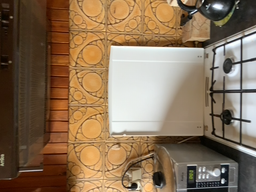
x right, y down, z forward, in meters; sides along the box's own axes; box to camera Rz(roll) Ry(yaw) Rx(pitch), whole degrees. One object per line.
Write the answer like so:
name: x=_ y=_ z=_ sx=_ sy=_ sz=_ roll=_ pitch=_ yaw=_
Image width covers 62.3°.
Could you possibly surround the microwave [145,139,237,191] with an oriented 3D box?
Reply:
microwave: x=0.270 y=0.490 z=1.040 sx=0.380 sy=0.290 sz=0.480 roll=-176 pitch=87 yaw=-81
